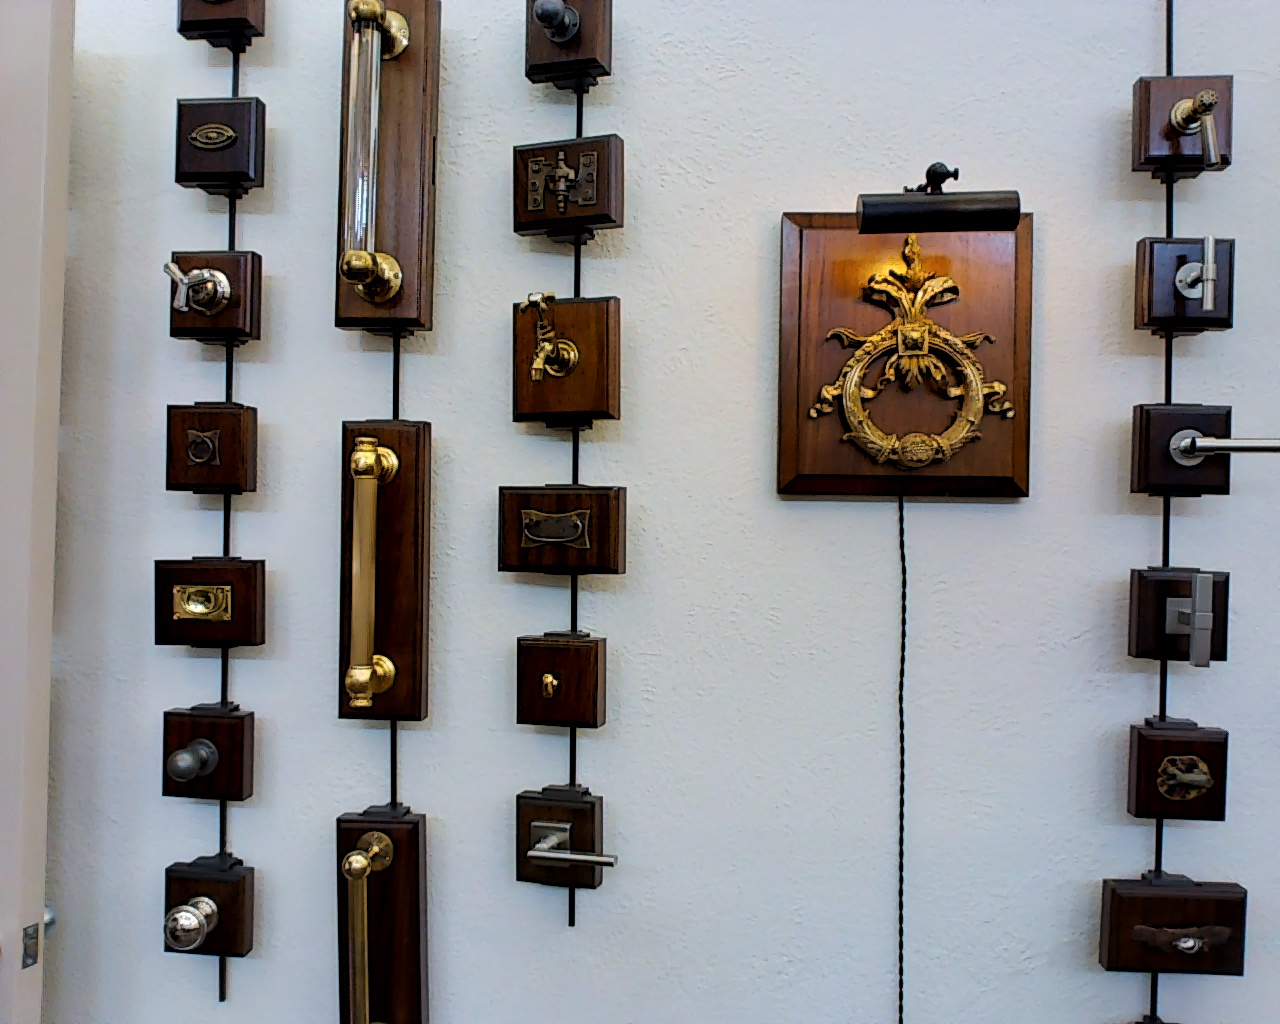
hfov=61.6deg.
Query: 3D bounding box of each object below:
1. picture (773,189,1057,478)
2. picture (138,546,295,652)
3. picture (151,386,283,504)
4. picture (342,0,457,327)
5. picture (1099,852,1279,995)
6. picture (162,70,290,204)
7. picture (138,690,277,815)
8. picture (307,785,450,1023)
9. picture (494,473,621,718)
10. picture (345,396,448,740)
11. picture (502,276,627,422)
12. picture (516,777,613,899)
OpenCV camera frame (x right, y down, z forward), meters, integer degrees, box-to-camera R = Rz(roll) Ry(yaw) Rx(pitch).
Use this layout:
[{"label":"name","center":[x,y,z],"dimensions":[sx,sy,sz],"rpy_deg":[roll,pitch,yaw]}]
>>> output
[{"label":"picture","center":[0.400,-0.260,1.590],"dimensions":[0.390,0.410,0.090],"rpy_deg":[1,0,3]},{"label":"picture","center":[-0.640,0.130,1.630],"dimensions":[0.200,0.150,0.090],"rpy_deg":[1,0,3]},{"label":"picture","center":[-0.640,-0.100,1.630],"dimensions":[0.160,0.170,0.090],"rpy_deg":[1,0,3]},{"label":"picture","center":[-0.360,-0.550,1.620],"dimensions":[0.130,0.520,0.120],"rpy_deg":[1,0,3]},{"label":"picture","center":[0.790,0.590,1.550],"dimensions":[0.210,0.160,0.100],"rpy_deg":[1,0,3]},{"label":"picture","center":[-0.630,-0.570,1.640],"dimensions":[0.150,0.170,0.100],"rpy_deg":[1,0,3]},{"label":"picture","center":[-0.650,0.360,1.620],"dimensions":[0.160,0.160,0.110],"rpy_deg":[1,0,3]},{"label":"picture","center":[-0.390,0.630,1.610],"dimensions":[0.180,0.410,0.100],"rpy_deg":[1,0,3]},{"label":"picture","center":[-0.120,0.120,1.600],"dimensions":[0.170,0.350,0.100],"rpy_deg":[1,0,3]},{"label":"picture","center":[-0.360,0.080,1.600],"dimensions":[0.110,0.490,0.120],"rpy_deg":[1,0,3]},{"label":"picture","center":[-0.110,-0.240,1.600],"dimensions":[0.170,0.200,0.100],"rpy_deg":[1,0,3]},{"label":"picture","center":[-0.110,0.480,1.590],"dimensions":[0.130,0.150,0.090],"rpy_deg":[1,0,3]}]
